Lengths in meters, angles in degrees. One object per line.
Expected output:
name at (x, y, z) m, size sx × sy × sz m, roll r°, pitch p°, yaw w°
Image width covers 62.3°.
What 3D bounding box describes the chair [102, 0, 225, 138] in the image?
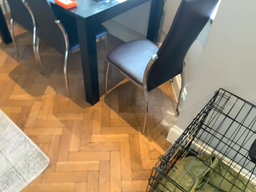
chair at (0.160, -0.280, 1.470) m, size 0.420 × 0.990 × 0.540 m, roll -32°, pitch 56°, yaw -31°
